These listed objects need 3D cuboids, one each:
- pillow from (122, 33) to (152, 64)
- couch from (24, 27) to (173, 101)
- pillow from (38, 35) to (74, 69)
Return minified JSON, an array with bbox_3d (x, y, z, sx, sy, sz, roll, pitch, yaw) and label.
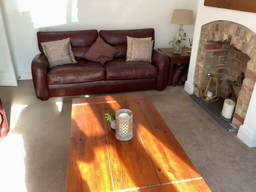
[{"bbox_3d":[0.150,-0.810,3.600,0.370,0.370,0.210,-22,28,-1],"label":"pillow"},{"bbox_3d":[-0.460,-0.620,3.580,2.050,0.850,1.070,-5,27,-12],"label":"couch"},{"bbox_3d":[-1.140,-0.700,3.370,0.410,0.340,0.200,-28,28,-5],"label":"pillow"}]
